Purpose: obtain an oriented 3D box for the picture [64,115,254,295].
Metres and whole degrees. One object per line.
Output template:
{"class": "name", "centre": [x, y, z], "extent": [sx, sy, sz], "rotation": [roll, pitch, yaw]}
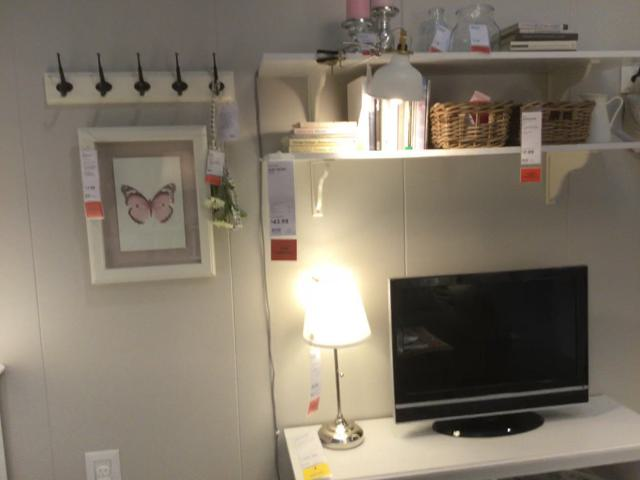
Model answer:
{"class": "picture", "centre": [-0.480, -0.110, 1.770], "extent": [0.510, 0.500, 0.060], "rotation": [-5, 5, -8]}
